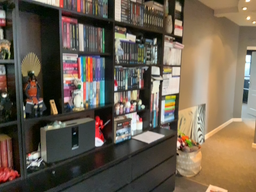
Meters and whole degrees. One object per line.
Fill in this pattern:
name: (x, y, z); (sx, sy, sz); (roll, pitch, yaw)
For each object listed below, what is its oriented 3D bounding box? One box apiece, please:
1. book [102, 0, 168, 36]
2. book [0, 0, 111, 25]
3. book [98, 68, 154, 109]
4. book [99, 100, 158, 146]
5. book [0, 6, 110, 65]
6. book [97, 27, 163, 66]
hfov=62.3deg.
book: (0.100, -0.830, 2.120); (0.190, 0.350, 0.780); (8, 11, 41)
book: (-0.460, -0.750, 1.500); (0.180, 0.350, 0.760); (8, 11, 41)
book: (0.000, -0.100, 2.190); (0.190, 0.360, 0.650); (8, 11, 41)
book: (0.020, 0.250, 2.230); (0.260, 0.330, 0.630); (8, 11, 41)
book: (-0.490, -0.400, 1.580); (0.230, 0.320, 0.750); (8, 11, 41)
book: (0.050, -0.480, 2.200); (0.210, 0.320, 0.790); (8, 11, 41)
